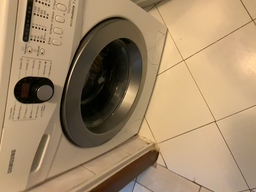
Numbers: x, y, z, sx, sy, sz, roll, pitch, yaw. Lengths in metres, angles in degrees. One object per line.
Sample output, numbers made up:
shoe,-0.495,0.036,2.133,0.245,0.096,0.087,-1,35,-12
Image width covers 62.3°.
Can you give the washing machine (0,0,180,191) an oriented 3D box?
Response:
washing machine,-0.290,-0.130,0.910,0.640,0.840,0.600,22,104,27
